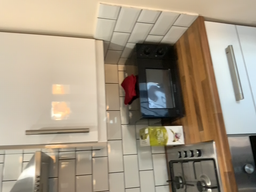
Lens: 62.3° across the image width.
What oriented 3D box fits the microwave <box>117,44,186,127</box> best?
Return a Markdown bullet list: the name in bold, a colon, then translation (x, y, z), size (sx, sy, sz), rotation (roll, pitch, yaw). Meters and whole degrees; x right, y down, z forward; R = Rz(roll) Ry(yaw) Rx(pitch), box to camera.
- **microwave**: translation (0.130, -0.050, 1.390), size (0.290, 0.330, 0.460), rotation (134, 135, -69)
